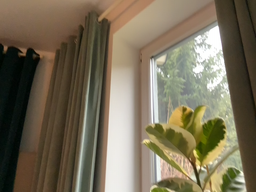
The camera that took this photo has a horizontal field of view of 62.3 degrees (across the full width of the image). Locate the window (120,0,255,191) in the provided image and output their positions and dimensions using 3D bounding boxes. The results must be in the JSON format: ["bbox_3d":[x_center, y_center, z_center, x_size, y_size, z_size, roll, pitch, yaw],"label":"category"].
[{"bbox_3d":[0.250,0.210,1.160,0.200,1.690,0.690,18,-27,-35],"label":"window"}]
